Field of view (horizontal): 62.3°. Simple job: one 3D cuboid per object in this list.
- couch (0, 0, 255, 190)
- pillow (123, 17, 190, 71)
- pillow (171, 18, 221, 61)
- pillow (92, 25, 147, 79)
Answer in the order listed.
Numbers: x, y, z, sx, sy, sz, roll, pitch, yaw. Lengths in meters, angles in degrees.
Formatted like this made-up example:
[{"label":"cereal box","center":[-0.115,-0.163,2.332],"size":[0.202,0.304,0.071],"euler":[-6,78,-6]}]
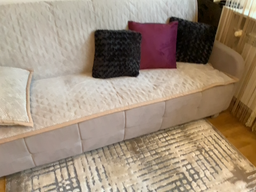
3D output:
[{"label":"couch","center":[-0.180,-0.250,1.750],"size":[2.080,0.930,1.060],"euler":[-12,40,-19]},{"label":"pillow","center":[0.230,-0.420,1.780],"size":[0.440,0.360,0.150],"euler":[2,35,-25]},{"label":"pillow","center":[0.590,-0.490,1.870],"size":[0.300,0.300,0.150],"euler":[0,36,-24]},{"label":"pillow","center":[-0.080,-0.350,1.710],"size":[0.320,0.310,0.220],"euler":[7,33,-23]}]
